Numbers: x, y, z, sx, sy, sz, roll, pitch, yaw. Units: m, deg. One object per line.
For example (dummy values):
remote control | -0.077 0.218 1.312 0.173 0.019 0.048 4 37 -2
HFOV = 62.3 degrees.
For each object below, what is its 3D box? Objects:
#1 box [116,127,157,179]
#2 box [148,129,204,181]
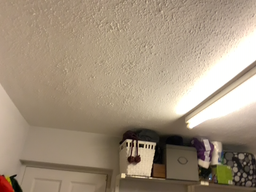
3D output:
box | 0.080 0.570 2.060 0.290 0.400 0.400 9 -26 -10
box | 0.450 0.600 2.100 0.420 0.410 0.340 8 -26 -7
